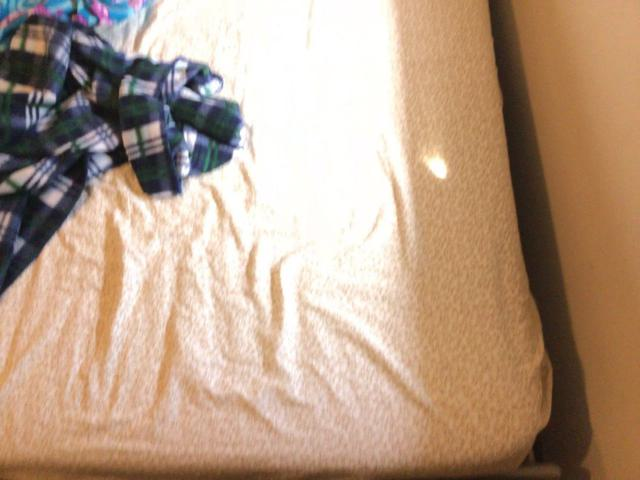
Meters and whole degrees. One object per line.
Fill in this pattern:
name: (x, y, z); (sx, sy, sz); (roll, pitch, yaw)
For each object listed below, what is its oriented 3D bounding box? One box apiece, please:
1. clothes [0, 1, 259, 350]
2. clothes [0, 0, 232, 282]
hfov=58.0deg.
clothes: (-0.390, -0.120, 0.910); (0.560, 0.120, 0.560); (-2, 62, 1)
clothes: (-0.470, -0.440, 1.090); (0.580, 0.130, 1.070); (-2, 62, 1)
